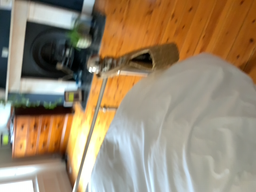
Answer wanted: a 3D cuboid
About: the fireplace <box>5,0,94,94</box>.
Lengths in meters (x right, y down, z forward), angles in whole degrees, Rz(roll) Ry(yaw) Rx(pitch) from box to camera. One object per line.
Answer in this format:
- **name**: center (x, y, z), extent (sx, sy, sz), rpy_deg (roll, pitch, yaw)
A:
- **fireplace**: center (-1.300, -0.830, 3.430), extent (0.360, 1.120, 1.580), rpy_deg (48, 127, 49)
